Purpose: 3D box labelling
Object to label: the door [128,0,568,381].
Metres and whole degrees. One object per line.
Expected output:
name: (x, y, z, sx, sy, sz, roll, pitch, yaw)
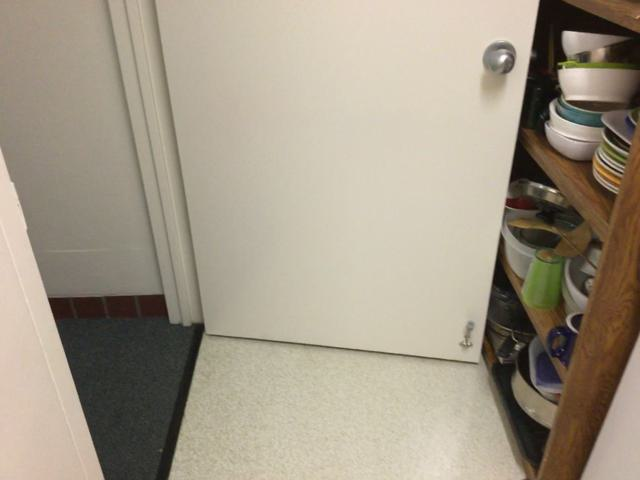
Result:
door: (0.040, -0.560, 1.340, 0.990, 2.140, 0.120, 5, 32, 10)
